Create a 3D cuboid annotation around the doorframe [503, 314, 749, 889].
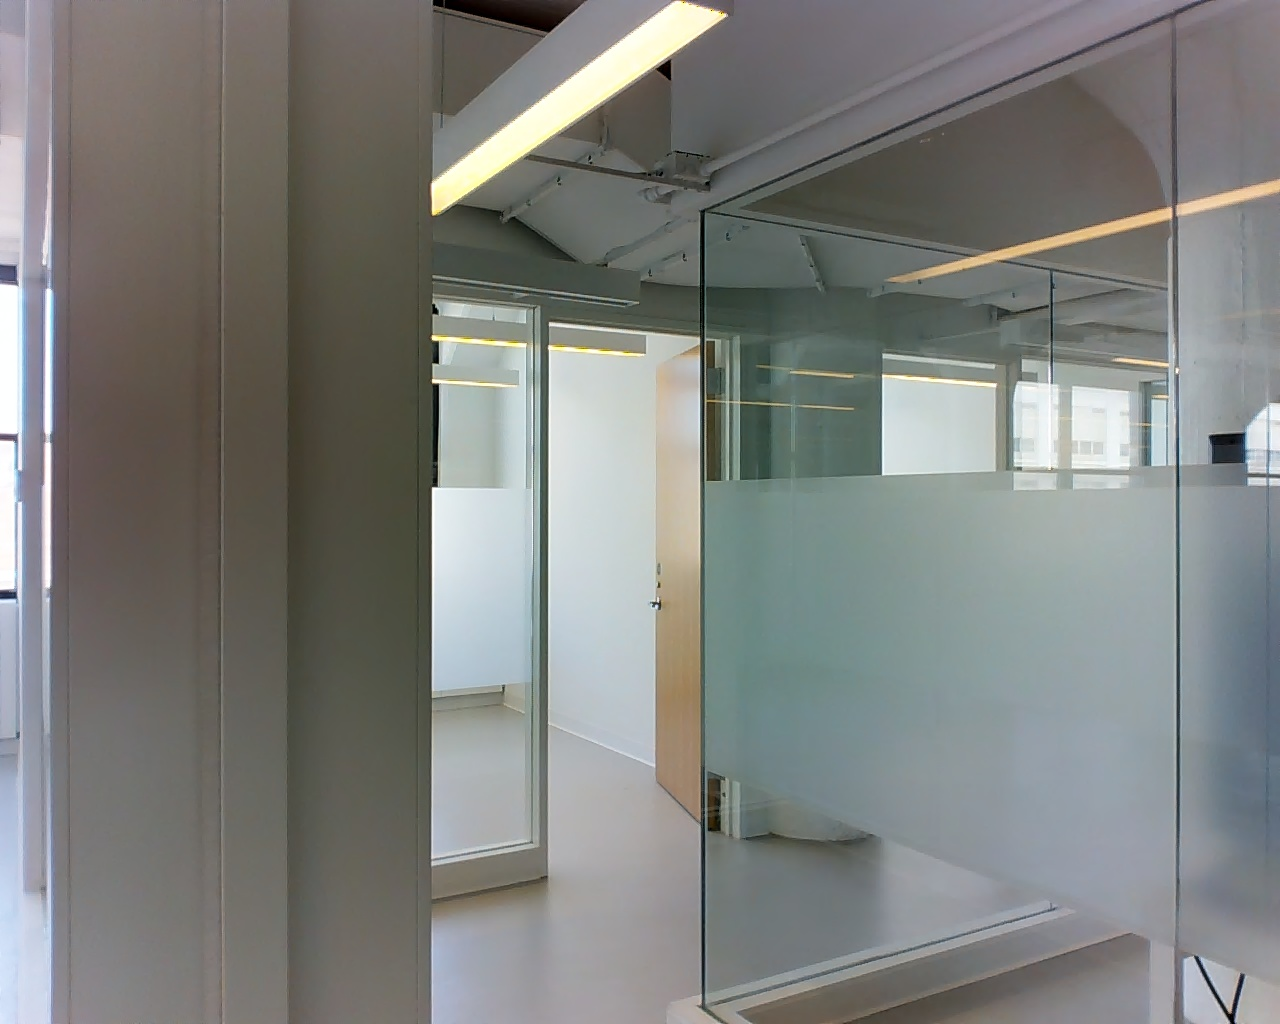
[{"bbox_3d":[-0.040,0.340,4.460,1.030,2.190,0.260,0,0,-31],"label":"doorframe"}]
